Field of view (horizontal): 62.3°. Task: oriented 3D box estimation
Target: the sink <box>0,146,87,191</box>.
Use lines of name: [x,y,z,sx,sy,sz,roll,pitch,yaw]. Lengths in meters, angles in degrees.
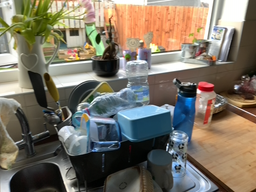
sink: [-0.260,0.360,0.680,0.230,0.150,0.390,-11,27,-28]
